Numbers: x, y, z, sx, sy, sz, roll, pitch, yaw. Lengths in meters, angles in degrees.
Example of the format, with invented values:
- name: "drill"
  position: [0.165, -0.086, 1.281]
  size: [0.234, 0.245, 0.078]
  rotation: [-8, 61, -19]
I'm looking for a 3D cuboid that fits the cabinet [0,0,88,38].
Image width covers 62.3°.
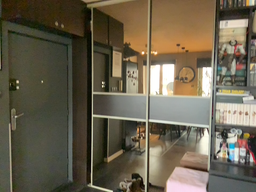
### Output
- name: "cabinet"
  position: [-0.910, -1.020, 2.510]
  size: [0.290, 0.450, 1.050]
  rotation: [3, 4, 26]

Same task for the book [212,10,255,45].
- name: "book"
  position: [1.210, -0.630, 1.930]
  size: [0.800, 0.250, 0.200]
  rotation: [3, 4, 27]
